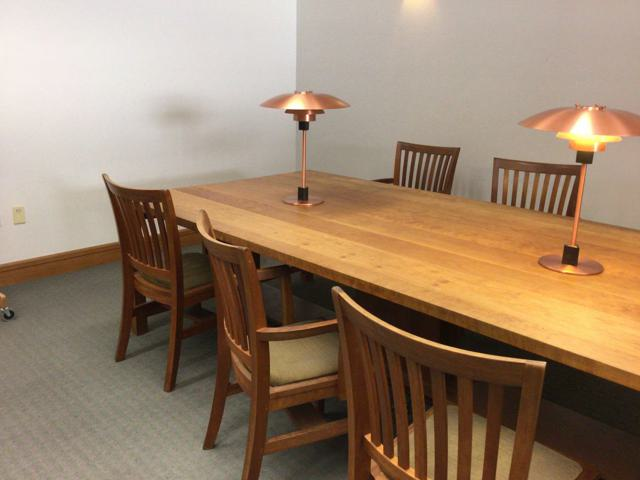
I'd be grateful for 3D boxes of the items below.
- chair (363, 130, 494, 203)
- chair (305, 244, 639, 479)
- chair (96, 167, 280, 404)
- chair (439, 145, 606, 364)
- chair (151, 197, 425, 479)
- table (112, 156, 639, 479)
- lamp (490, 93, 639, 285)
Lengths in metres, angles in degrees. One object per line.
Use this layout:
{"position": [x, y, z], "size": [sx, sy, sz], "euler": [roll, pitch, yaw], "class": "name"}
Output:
{"position": [0.710, -0.510, 3.820], "size": [0.560, 0.390, 0.630], "euler": [-13, 18, -41], "class": "chair"}
{"position": [0.380, 0.550, 1.420], "size": [0.610, 0.910, 0.540], "euler": [-13, 18, -41], "class": "chair"}
{"position": [-0.610, 0.160, 2.750], "size": [0.610, 0.920, 0.530], "euler": [-13, 18, -41], "class": "chair"}
{"position": [1.070, 0.010, 3.050], "size": [0.610, 0.940, 0.730], "euler": [8, 16, 32], "class": "chair"}
{"position": [-0.110, 0.380, 2.050], "size": [0.630, 0.920, 0.680], "euler": [-13, 18, -41], "class": "chair"}
{"position": [0.420, 0.250, 2.550], "size": [1.460, 0.960, 2.780], "euler": [-13, 18, -41], "class": "table"}
{"position": [0.860, -0.200, 1.890], "size": [0.380, 0.540, 0.420], "euler": [-13, 18, -41], "class": "lamp"}
